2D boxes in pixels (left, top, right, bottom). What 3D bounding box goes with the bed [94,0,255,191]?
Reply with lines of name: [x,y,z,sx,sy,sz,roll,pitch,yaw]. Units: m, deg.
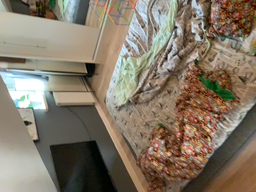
bed: [0.410,-0.300,1.830,1.680,0.280,2.310,56,134,40]

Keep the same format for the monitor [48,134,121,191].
monitor: [-0.460,0.830,2.290,1.020,0.590,0.040,56,134,41]

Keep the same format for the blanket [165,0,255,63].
blanket: [0.550,-0.590,1.160,0.580,0.170,0.580,56,134,39]
